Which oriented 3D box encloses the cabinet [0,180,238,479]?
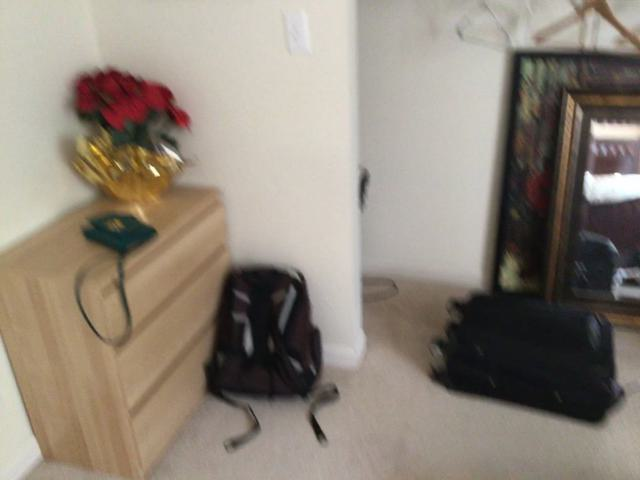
[{"bbox_3d":[-0.630,0.260,1.960,0.450,0.750,0.690,6,21,13],"label":"cabinet"}]

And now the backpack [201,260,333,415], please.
[{"bbox_3d":[-0.180,0.340,2.100,0.390,0.420,0.290,6,21,13],"label":"backpack"}]

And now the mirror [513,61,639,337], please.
[{"bbox_3d":[1.200,-0.150,2.280,0.690,1.030,0.250,6,21,13],"label":"mirror"}]
